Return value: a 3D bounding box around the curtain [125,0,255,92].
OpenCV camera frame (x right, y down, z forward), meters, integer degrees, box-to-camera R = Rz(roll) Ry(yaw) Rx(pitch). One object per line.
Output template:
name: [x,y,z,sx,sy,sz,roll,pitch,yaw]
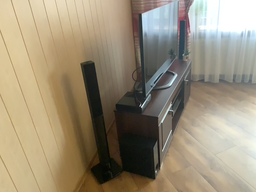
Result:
curtain: [1.140,-1.350,3.200,2.410,2.720,0.140,3,28,16]
